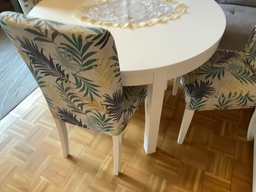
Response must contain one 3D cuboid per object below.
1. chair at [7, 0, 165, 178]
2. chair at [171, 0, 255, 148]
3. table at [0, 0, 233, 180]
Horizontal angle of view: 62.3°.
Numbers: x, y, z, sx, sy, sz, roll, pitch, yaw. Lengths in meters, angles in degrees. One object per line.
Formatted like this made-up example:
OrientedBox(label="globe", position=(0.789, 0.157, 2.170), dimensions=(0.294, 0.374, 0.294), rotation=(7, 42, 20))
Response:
OrientedBox(label="chair", position=(-0.130, -0.070, 1.240), dimensions=(0.420, 0.940, 0.590), rotation=(19, 49, 17))
OrientedBox(label="chair", position=(0.660, -0.170, 1.330), dimensions=(0.590, 0.940, 0.440), rotation=(10, 47, 10))
OrientedBox(label="table", position=(0.000, -0.270, 1.560), dimensions=(1.130, 0.770, 1.090), rotation=(19, 49, 17))
